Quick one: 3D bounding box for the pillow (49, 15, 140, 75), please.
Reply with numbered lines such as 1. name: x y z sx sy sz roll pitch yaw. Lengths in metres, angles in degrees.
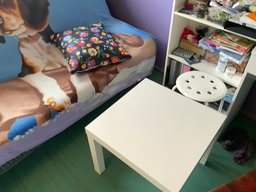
1. pillow: -0.260 -0.430 1.670 0.560 0.140 0.430 30 51 28
